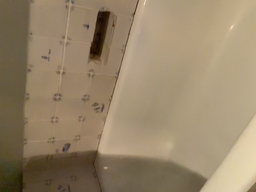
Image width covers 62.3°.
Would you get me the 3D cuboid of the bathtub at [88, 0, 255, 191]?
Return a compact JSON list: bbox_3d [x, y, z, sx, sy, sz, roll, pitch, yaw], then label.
[{"bbox_3d":[0.360,-0.070,0.780,0.710,0.540,1.660,57,136,47],"label":"bathtub"}]
